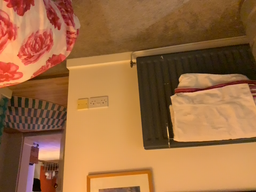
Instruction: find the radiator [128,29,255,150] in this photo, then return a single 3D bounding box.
[{"bbox_3d":[0.580,-0.070,1.550,1.110,0.820,0.150,-4,157,3],"label":"radiator"}]
